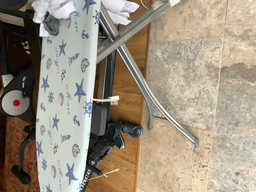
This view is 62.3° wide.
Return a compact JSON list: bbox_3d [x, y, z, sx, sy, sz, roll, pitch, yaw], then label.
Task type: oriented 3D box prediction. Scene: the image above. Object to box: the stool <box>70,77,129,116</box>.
[{"bbox_3d":[-0.240,0.000,1.800,0.330,0.350,0.280,7,94,44],"label":"stool"}]
